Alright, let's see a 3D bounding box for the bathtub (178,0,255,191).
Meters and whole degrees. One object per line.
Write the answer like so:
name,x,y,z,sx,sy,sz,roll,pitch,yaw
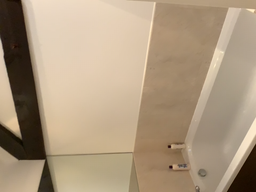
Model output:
bathtub,0.960,0.110,1.620,0.680,0.590,1.660,-103,16,-54
